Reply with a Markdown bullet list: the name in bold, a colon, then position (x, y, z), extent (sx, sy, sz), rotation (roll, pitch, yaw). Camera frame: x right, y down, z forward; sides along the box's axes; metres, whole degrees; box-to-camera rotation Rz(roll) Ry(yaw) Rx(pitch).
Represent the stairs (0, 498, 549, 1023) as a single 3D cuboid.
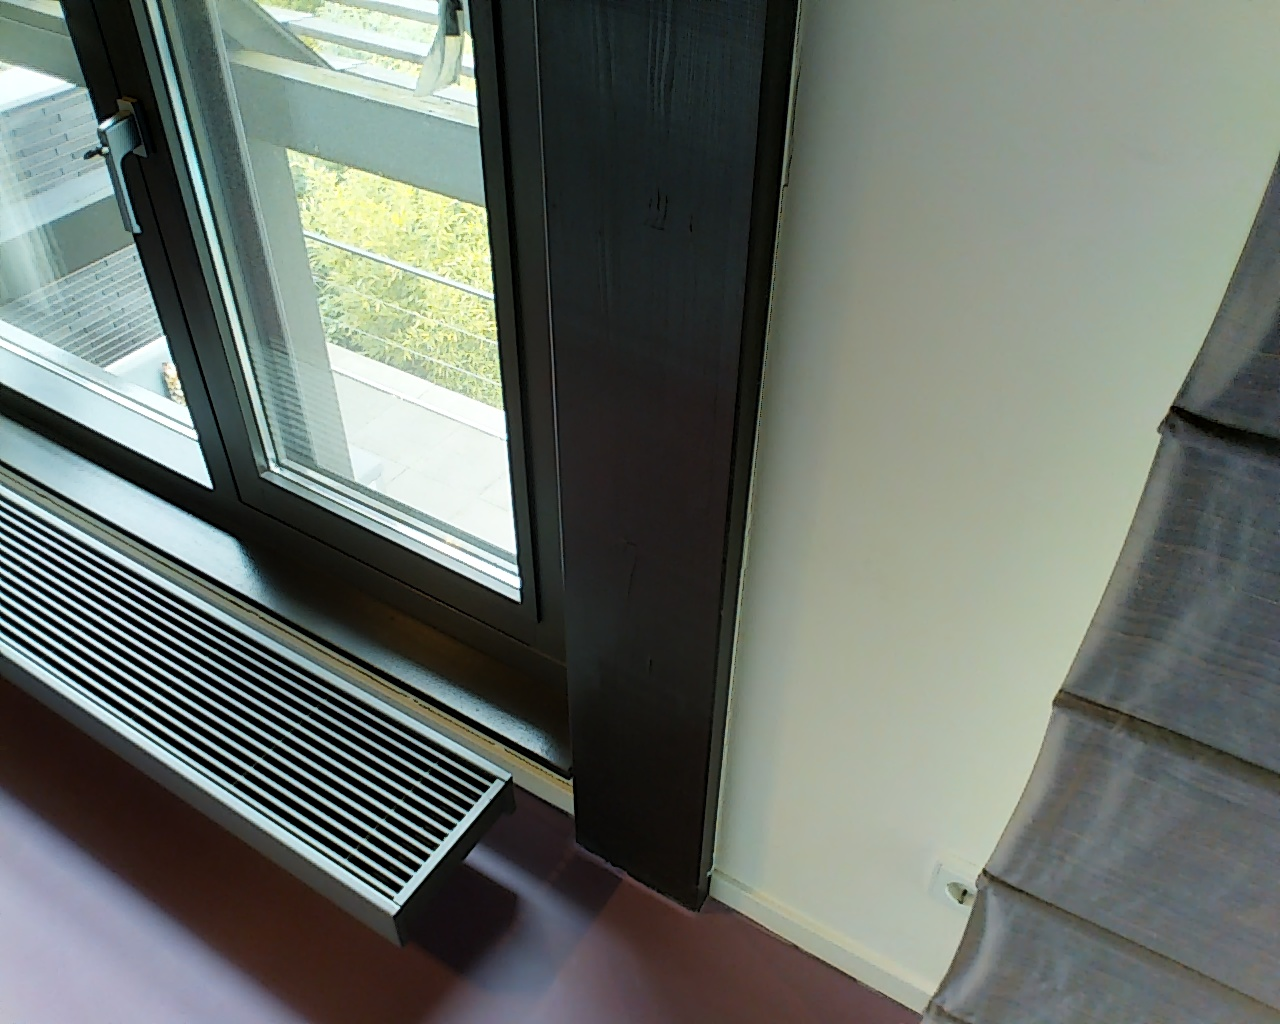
- **stairs**: position (-0.930, 0.180, 1.660), extent (1.760, 0.170, 0.230), rotation (23, 45, 23)
